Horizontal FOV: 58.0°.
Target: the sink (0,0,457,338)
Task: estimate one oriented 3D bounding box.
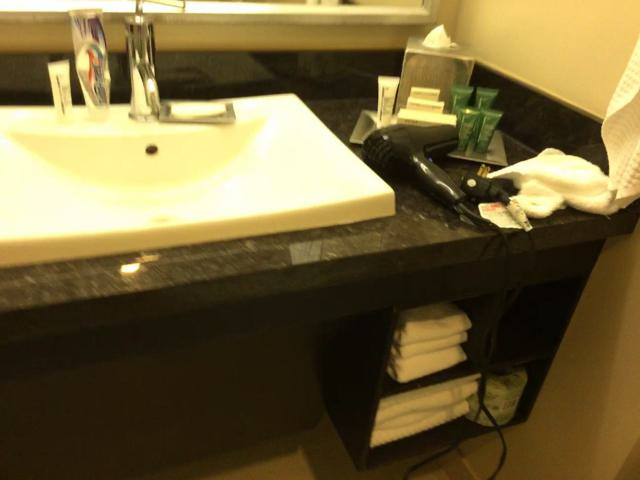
[{"bbox_3d":[-0.260,-0.150,0.860,0.720,0.290,0.470,-6,33,-23],"label":"sink"}]
